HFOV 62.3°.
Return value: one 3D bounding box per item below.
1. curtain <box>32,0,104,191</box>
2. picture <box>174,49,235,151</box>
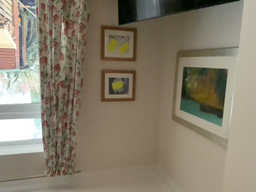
[{"bbox_3d":[-0.550,-0.500,2.020,0.610,2.870,0.230,-1,-170,-16],"label":"curtain"},{"bbox_3d":[0.630,-0.020,1.900,0.030,0.760,0.730,-1,-170,-16],"label":"picture"}]
